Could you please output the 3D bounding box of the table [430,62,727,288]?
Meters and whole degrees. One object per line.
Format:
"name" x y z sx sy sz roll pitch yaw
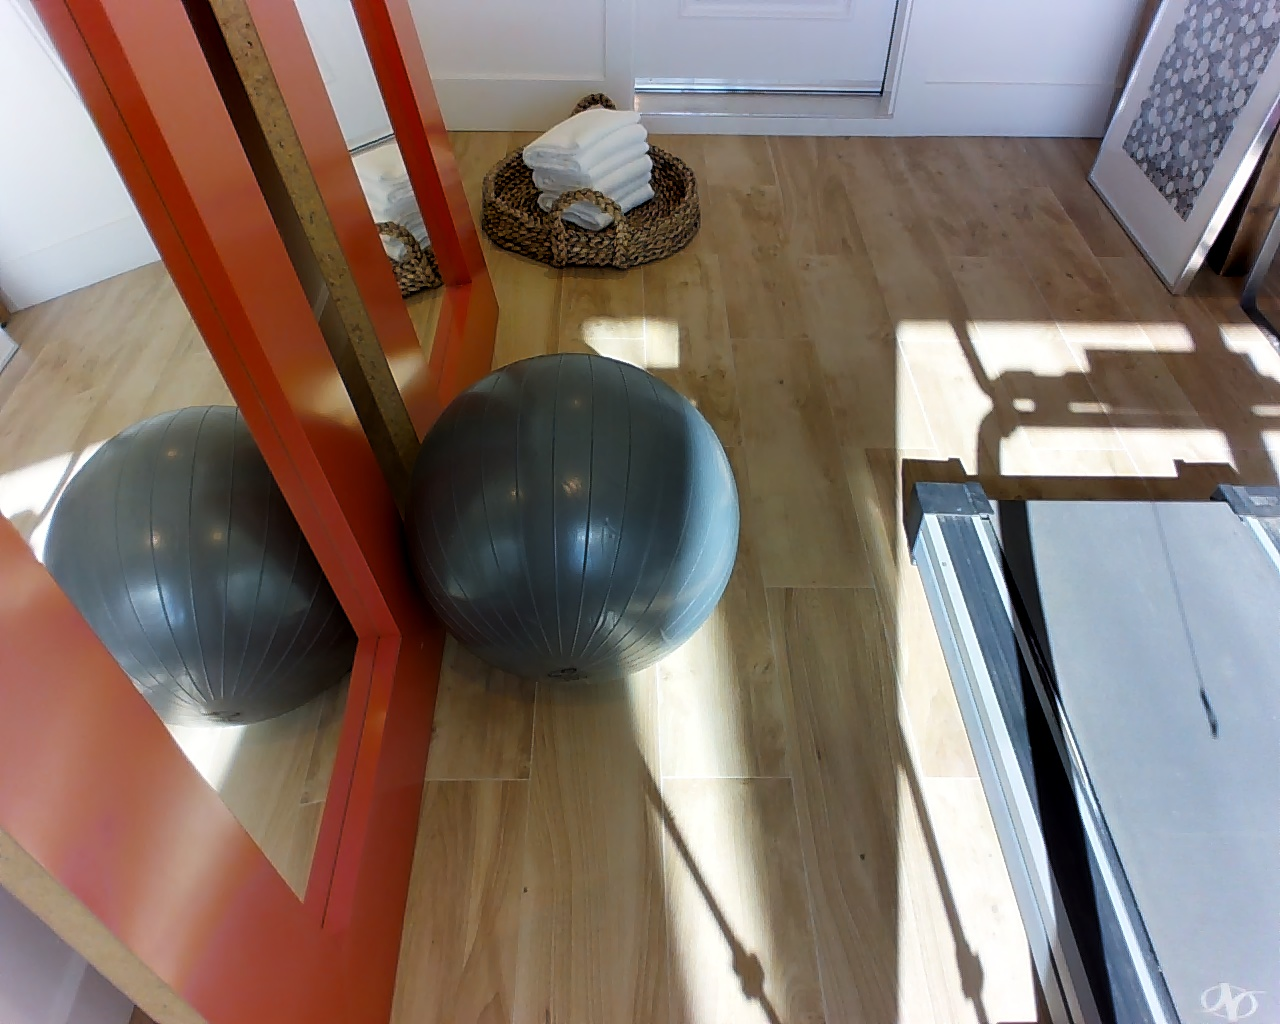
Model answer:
"table" -0.140 -1.060 3.290 0.770 0.250 0.930 4 42 3
